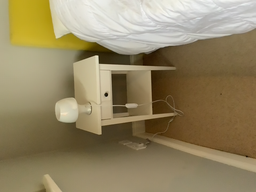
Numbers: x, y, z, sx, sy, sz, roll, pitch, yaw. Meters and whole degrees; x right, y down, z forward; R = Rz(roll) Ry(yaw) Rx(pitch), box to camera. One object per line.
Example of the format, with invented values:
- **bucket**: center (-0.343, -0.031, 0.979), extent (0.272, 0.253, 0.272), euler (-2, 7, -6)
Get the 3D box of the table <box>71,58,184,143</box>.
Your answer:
- **table**: center (0.000, 0.000, 1.580), extent (0.470, 0.680, 0.480), euler (2, 95, 55)
